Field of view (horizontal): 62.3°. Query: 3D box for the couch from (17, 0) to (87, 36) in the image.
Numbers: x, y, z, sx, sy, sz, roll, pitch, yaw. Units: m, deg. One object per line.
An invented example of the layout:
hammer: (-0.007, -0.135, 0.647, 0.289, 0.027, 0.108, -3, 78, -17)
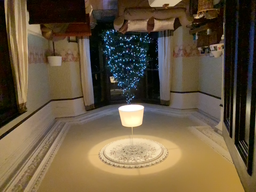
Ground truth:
couch: (-1.290, -1.690, 3.900, 0.860, 0.940, 1.620, -4, -170, -6)
